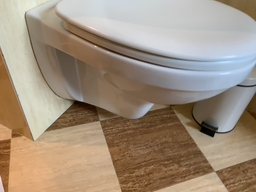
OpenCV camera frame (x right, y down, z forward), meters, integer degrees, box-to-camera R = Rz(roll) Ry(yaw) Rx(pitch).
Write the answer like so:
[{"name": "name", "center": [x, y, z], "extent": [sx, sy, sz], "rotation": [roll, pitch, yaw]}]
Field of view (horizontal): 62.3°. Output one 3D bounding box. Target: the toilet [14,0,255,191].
[{"name": "toilet", "center": [0.040, -0.060, 0.660], "extent": [0.530, 0.430, 0.350], "rotation": [22, 44, 17]}]
